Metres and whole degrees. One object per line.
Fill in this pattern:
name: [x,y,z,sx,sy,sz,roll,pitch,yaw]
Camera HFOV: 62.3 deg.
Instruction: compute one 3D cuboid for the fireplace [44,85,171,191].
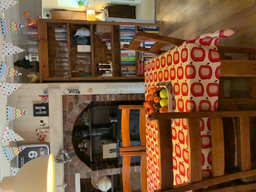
fireplace: [-0.300,0.880,3.450,0.680,1.850,2.090,-175,84,-76]
